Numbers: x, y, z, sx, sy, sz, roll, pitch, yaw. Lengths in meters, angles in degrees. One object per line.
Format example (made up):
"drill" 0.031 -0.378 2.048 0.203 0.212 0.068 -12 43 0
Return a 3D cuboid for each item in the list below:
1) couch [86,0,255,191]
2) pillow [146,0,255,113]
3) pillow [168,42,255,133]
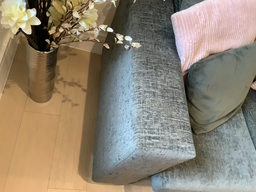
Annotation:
"couch" 0.640 0.030 1.230 1.550 0.770 0.960 10 59 -18
"pillow" 0.390 -0.180 1.010 0.580 0.560 0.180 -28 74 -1
"pillow" 0.460 -0.040 0.990 0.520 0.350 0.150 -26 69 -1
